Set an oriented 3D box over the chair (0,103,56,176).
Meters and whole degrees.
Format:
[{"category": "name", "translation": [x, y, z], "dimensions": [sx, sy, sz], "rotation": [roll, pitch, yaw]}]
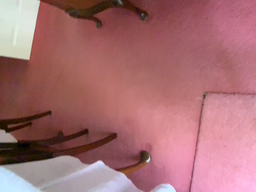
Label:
[{"category": "chair", "translation": [-1.170, 0.380, 1.660], "dimensions": [0.450, 0.990, 0.540], "rotation": [-22, 76, 35]}]
